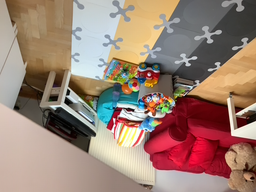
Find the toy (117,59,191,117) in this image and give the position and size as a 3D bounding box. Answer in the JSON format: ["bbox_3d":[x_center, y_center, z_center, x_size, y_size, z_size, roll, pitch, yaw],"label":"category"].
[{"bbox_3d":[0.270,-0.060,2.310,0.660,0.360,0.420,12,153,-14],"label":"toy"}]
